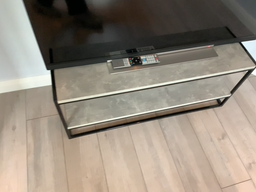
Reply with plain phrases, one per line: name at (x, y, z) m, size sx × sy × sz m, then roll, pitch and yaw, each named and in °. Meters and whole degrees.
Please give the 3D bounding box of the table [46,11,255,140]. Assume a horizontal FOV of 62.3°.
table at (0.110, -0.130, 1.240) m, size 1.000 × 0.430 × 0.420 m, roll -11°, pitch 58°, yaw -13°
